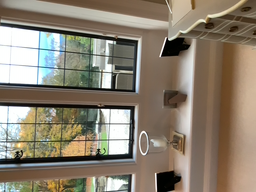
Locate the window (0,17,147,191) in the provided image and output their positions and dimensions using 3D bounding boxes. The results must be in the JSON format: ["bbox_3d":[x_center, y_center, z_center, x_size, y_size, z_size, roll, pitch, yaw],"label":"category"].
[{"bbox_3d":[-0.640,0.350,2.200,0.090,1.660,2.100,-172,85,-72],"label":"window"}]
